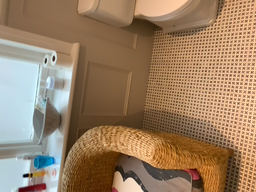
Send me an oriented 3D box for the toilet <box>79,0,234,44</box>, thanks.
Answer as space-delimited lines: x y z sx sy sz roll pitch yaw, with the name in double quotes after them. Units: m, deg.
0.210 -0.680 1.400 0.660 0.770 0.430 8 92 46 "toilet"
